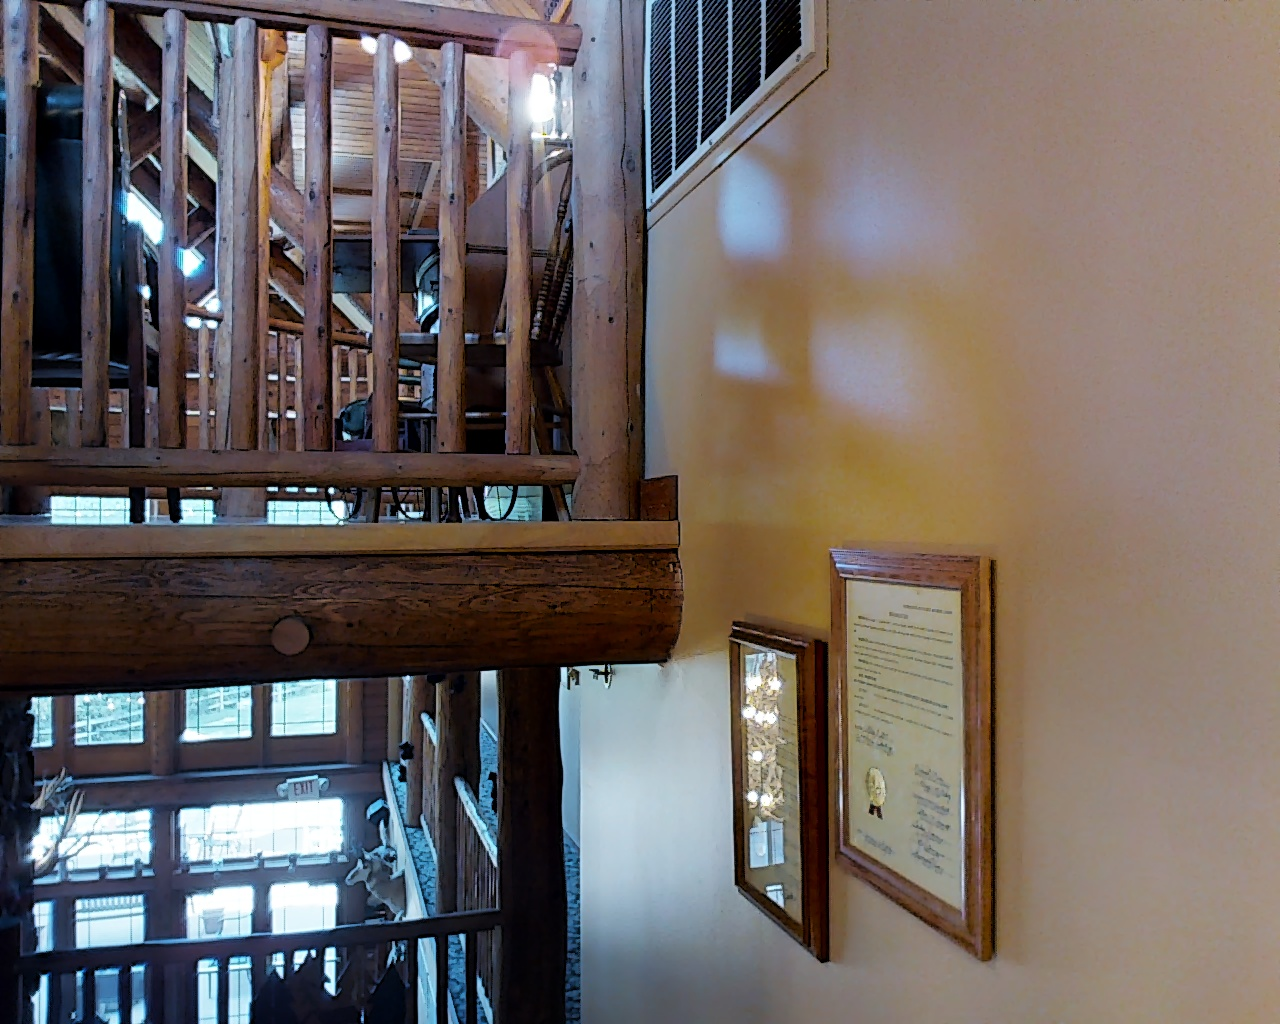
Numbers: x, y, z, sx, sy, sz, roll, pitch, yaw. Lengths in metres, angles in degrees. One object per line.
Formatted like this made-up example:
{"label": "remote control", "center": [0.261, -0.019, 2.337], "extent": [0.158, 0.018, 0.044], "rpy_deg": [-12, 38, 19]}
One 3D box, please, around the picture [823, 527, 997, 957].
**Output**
{"label": "picture", "center": [0.310, 0.240, 1.290], "extent": [0.020, 0.440, 0.360], "rpy_deg": [0, 0, -17]}

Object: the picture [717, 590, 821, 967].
{"label": "picture", "center": [0.190, 0.380, 1.640], "extent": [0.040, 0.500, 0.300], "rpy_deg": [0, 0, -17]}
